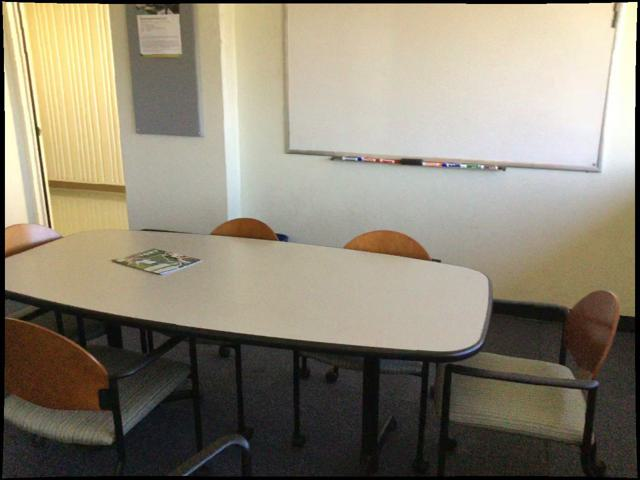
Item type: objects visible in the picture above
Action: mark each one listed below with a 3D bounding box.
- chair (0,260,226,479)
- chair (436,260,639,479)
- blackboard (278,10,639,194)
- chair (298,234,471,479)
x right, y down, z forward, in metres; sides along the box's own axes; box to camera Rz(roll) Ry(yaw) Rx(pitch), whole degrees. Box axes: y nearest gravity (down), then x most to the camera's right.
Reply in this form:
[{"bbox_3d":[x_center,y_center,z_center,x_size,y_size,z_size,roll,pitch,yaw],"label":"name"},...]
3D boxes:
[{"bbox_3d":[-0.728,0.531,1.850,0.619,0.732,0.610,6,16,16],"label":"chair"},{"bbox_3d":[0.728,0.521,1.890,0.609,0.722,0.550,6,16,16],"label":"chair"},{"bbox_3d":[0.768,-0.812,3.340,2.105,0.932,0.150,6,16,16],"label":"blackboard"},{"bbox_3d":[0.259,0.421,2.210,0.539,0.742,0.520,6,16,16],"label":"chair"}]
